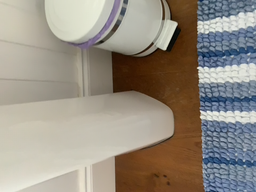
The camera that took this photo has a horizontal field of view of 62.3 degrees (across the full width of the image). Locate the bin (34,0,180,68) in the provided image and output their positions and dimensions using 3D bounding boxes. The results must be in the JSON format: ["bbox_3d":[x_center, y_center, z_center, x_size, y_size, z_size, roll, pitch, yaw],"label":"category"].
[{"bbox_3d":[-0.030,-0.200,0.550,0.210,0.330,0.200,-2,90,36],"label":"bin"}]
